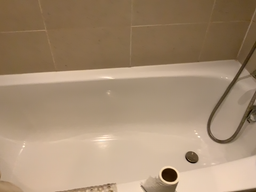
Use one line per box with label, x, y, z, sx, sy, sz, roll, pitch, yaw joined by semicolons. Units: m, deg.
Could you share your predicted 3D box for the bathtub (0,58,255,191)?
bathtub;-0.150;0.310;1.060;1.620;0.570;0.760;-5;43;-7
